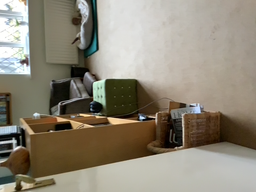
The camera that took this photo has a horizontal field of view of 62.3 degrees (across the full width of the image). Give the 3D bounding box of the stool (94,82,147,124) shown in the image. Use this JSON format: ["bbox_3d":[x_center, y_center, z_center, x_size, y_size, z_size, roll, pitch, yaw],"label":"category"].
[{"bbox_3d":[-0.080,0.060,2.160,0.360,0.400,0.370,-4,89,61],"label":"stool"}]

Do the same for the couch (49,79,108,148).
[{"bbox_3d":[-0.780,0.230,3.180,0.690,0.630,0.700,55,138,44],"label":"couch"}]

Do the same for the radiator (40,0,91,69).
[{"bbox_3d":[-1.030,-1.090,3.520,0.190,0.740,1.230,-3,90,61],"label":"radiator"}]
